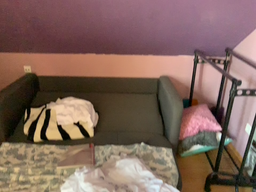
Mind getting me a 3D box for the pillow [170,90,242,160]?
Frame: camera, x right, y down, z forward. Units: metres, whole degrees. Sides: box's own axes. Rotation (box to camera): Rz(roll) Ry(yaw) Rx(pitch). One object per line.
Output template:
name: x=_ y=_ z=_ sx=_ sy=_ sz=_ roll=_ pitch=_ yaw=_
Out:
pillow: x=0.770 y=0.270 z=2.280 sx=0.490 sy=0.400 sz=0.720 roll=2 pitch=25 yaw=2
